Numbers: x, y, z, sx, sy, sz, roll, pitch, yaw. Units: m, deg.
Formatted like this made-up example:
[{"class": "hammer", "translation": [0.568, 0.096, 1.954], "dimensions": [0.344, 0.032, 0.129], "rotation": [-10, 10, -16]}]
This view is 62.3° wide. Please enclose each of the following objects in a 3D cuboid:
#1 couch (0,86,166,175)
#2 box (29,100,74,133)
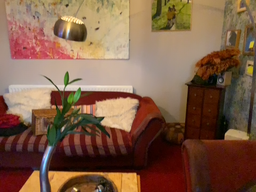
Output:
[{"class": "couch", "translation": [-0.830, 0.380, 2.940], "dimensions": [2.430, 0.790, 1.220], "rotation": [1, 13, -2]}, {"class": "box", "translation": [-0.990, 0.240, 2.720], "dimensions": [0.460, 0.230, 0.470], "rotation": [-6, 15, -29]}]
